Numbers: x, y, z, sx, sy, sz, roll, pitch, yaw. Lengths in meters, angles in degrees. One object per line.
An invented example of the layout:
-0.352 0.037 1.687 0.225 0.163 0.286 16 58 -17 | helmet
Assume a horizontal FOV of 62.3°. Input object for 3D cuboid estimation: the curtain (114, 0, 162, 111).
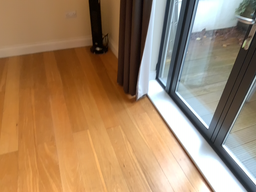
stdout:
0.070 -0.950 1.710 0.250 2.430 0.480 -11 41 -16 | curtain
